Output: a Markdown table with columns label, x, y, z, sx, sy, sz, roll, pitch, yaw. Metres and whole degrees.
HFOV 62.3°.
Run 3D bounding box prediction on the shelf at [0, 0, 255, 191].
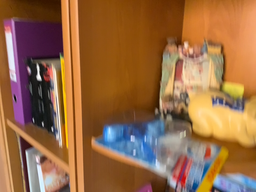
| label | x | y | z | sx | sy | sz | roll | pitch | yaw |
| --- | --- | --- | --- | --- | --- | --- | --- | --- | --- |
| shelf | -0.030 | 0.320 | 0.620 | 0.770 | 2.000 | 0.390 | 17 | 22 | 42 |
